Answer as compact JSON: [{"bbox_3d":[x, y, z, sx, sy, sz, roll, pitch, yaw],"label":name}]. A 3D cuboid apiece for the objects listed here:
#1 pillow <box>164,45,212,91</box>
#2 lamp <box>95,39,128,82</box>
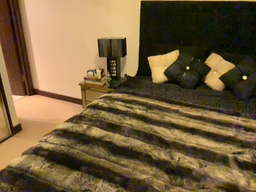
[{"bbox_3d":[0.520,-0.240,1.880,0.300,0.250,0.130,42,56,1],"label":"pillow"},{"bbox_3d":[-0.180,-0.410,2.410,0.280,0.400,0.260,12,26,23],"label":"lamp"}]
